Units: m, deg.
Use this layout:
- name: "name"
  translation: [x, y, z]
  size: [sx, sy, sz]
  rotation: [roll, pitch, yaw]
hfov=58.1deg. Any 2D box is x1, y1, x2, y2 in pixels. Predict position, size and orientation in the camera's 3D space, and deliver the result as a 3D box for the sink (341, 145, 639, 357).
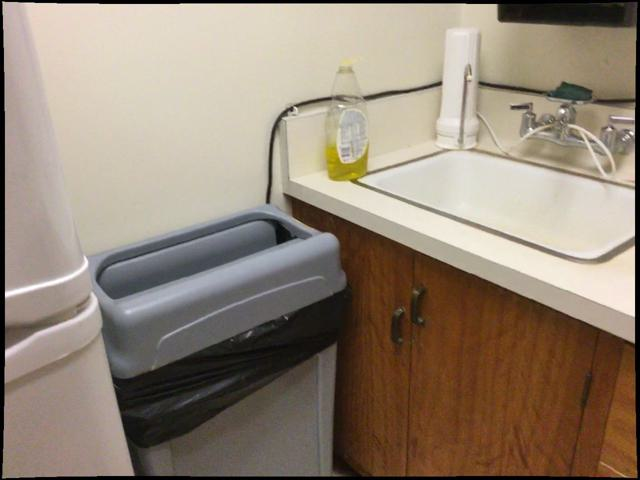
- name: "sink"
  translation: [0.419, -0.030, 1.340]
  size: [0.479, 0.190, 0.580]
  rotation: [-19, 30, -34]
